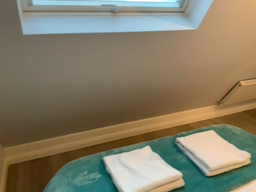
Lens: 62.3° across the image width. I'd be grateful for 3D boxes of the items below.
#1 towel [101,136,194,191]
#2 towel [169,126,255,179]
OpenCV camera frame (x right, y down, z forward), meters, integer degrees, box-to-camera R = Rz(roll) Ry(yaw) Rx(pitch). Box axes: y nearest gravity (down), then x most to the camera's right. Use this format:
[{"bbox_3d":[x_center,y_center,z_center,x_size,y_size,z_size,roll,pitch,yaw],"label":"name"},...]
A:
[{"bbox_3d":[0.100,0.450,1.350,0.420,0.100,0.430,-9,22,-24],"label":"towel"},{"bbox_3d":[0.590,0.380,1.550,0.400,0.070,0.440,-8,22,-21],"label":"towel"}]
